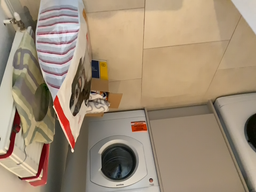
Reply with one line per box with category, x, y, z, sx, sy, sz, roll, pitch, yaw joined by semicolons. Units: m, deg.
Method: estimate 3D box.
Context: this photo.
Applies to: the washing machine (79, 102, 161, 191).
washing machine;-0.090;0.630;1.980;0.580;0.840;0.690;-6;145;-3
